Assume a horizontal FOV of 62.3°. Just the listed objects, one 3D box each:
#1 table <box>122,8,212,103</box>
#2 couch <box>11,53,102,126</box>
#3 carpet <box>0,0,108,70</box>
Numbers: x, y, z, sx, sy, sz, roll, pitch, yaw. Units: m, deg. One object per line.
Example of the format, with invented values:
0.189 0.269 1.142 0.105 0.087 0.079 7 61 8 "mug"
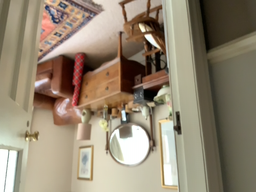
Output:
0.400 -0.400 2.510 0.430 0.750 0.920 14 158 -42 "table"
-1.170 -0.020 3.610 1.020 0.840 1.010 -12 161 33 "couch"
-1.270 -0.740 2.560 1.840 0.040 1.090 -15 159 40 "carpet"
